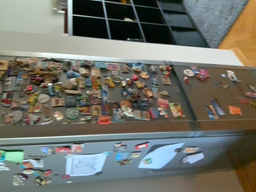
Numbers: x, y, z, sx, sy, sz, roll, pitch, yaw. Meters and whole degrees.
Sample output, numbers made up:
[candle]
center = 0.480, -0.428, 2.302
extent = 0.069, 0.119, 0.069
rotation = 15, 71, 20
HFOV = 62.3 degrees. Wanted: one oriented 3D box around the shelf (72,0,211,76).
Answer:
[shelf]
center = 0.070, -0.820, 2.580
extent = 0.410, 1.430, 1.110
rotation = 110, 155, -48
